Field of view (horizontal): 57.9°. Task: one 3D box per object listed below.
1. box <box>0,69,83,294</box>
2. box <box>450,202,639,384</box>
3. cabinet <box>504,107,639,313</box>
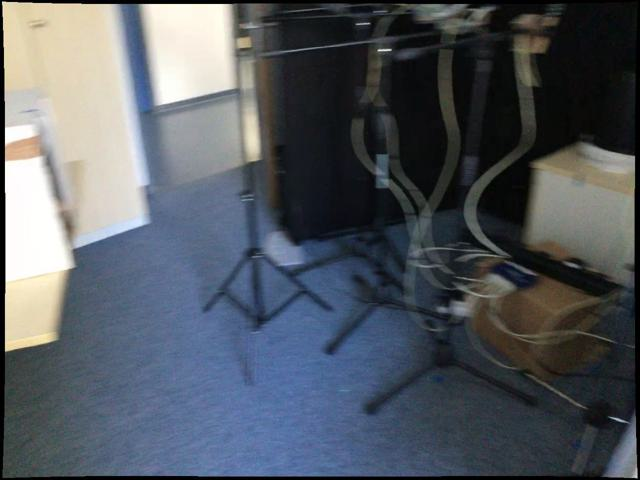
[{"bbox_3d":[-0.969,-0.150,1.550,0.530,0.430,0.510,-13,31,-15],"label":"box"},{"bbox_3d":[0.849,0.170,2.210,0.490,0.370,0.470,-25,36,-32],"label":"box"},{"bbox_3d":[1.339,-0.130,2.470,0.500,0.610,0.880,-25,36,-32],"label":"cabinet"}]
